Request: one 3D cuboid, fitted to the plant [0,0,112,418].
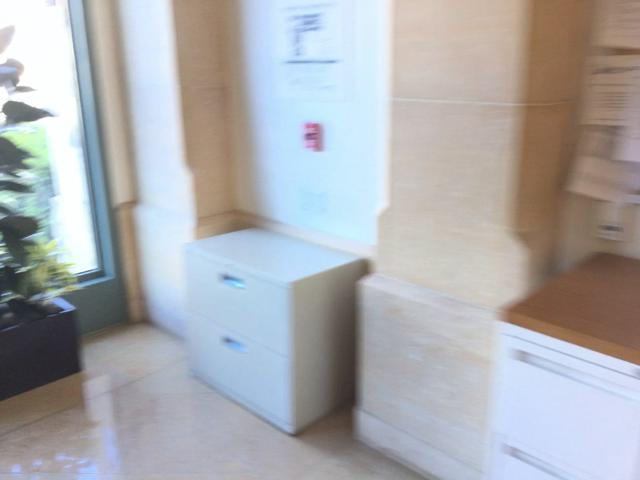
[{"bbox_3d":[-1.570,-0.120,2.490,1.020,1.760,0.510,-14,21,-41],"label":"plant"}]

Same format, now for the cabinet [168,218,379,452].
[{"bbox_3d":[-0.240,0.380,2.800,0.570,0.750,0.860,-13,21,-41],"label":"cabinet"}]
